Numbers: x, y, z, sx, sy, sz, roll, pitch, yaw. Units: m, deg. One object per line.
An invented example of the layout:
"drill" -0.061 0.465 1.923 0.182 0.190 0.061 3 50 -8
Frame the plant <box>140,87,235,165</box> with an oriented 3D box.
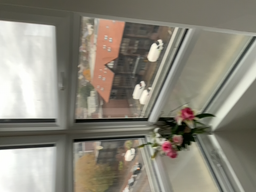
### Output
"plant" 0.390 0.210 1.540 0.390 0.440 0.380 -106 23 -44
